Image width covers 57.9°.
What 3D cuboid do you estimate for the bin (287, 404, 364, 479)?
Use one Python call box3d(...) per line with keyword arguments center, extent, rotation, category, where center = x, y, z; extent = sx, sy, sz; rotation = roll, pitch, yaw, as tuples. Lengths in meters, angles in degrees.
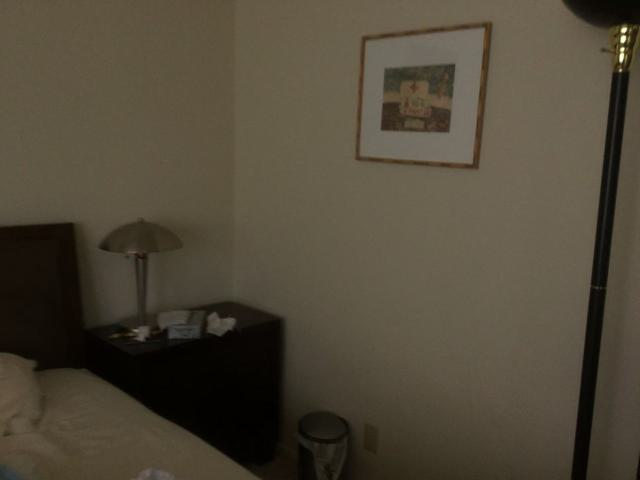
box3d(center=(0.020, 0.860, 2.310), extent=(0.220, 0.300, 0.210), rotation=(8, 11, 42), category="bin")
